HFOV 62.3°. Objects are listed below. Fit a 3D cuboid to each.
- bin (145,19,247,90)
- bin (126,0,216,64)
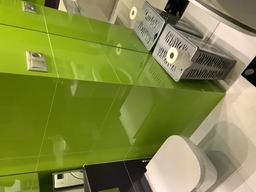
[{"bbox_3d":[0.500,-0.290,1.590,0.270,0.580,0.380,-60,41,36],"label":"bin"},{"bbox_3d":[0.360,-0.560,1.850,0.300,0.580,0.420,-61,40,34],"label":"bin"}]
